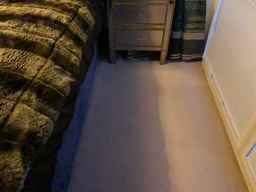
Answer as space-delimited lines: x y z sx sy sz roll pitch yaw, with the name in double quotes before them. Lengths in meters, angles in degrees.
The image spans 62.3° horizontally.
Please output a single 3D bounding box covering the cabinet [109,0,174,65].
"cabinet" 0.100 -0.630 1.810 0.450 0.530 0.480 2 43 1
